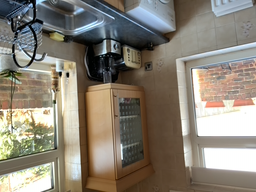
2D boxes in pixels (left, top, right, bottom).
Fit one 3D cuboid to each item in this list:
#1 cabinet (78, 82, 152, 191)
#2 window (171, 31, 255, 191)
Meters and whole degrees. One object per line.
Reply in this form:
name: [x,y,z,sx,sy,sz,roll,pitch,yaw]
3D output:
cabinet: [-0.100,0.380,1.970,0.330,0.950,0.600,-7,175,34]
window: [1.100,0.120,1.820,1.290,1.250,0.380,-7,175,34]
